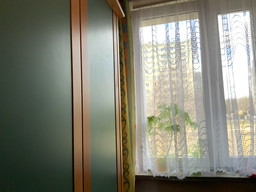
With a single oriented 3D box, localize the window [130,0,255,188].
[{"bbox_3d":[0.630,-0.100,1.680,1.140,1.550,0.170,-3,-4,11],"label":"window"}]
